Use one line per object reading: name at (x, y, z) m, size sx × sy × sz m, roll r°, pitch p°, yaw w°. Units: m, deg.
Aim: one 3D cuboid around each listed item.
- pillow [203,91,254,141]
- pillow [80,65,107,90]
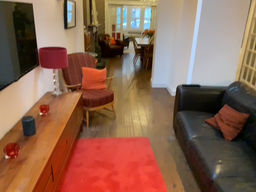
pillow at (1.050, 0.230, 2.280) m, size 0.180 × 0.350 × 0.450 m, roll 12°, pitch -33°, yaw -15°
pillow at (-0.550, -0.290, 3.350) m, size 0.400 × 0.350 × 0.210 m, roll 2°, pitch -1°, yaw -13°
